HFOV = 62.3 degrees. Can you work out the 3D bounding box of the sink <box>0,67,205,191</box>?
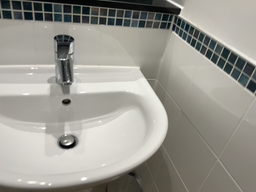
[{"bbox_3d":[-0.160,0.090,0.600,0.560,0.170,0.410,-3,36,-20],"label":"sink"}]
